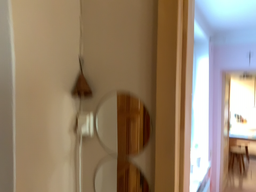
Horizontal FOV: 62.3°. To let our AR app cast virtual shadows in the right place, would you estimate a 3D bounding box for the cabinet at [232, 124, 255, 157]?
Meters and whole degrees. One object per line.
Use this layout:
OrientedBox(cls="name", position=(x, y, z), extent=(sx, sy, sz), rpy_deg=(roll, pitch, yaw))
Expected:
OrientedBox(cls="cabinet", position=(3.690, 1.260, 5.800), extent=(1.460, 0.800, 0.340), rpy_deg=(1, 1, 30))
